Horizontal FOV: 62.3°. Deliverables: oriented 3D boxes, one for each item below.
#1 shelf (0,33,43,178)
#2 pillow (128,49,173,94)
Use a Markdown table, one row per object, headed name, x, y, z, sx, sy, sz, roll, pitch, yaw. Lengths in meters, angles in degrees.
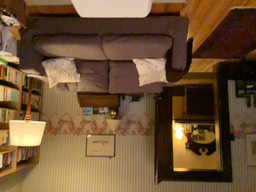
| name | x | y | z | sx | sy | sz | roll | pitch | yaw |
| --- | --- | --- | --- | --- | --- | --- | --- | --- | --- |
| shelf | -2.000 | 0.150 | 3.110 | 0.320 | 2.070 | 2.400 | 1 | 174 | 3 |
| pillow | 0.270 | -0.310 | 2.710 | 0.490 | 0.320 | 0.140 | -35 | 145 | 20 |
